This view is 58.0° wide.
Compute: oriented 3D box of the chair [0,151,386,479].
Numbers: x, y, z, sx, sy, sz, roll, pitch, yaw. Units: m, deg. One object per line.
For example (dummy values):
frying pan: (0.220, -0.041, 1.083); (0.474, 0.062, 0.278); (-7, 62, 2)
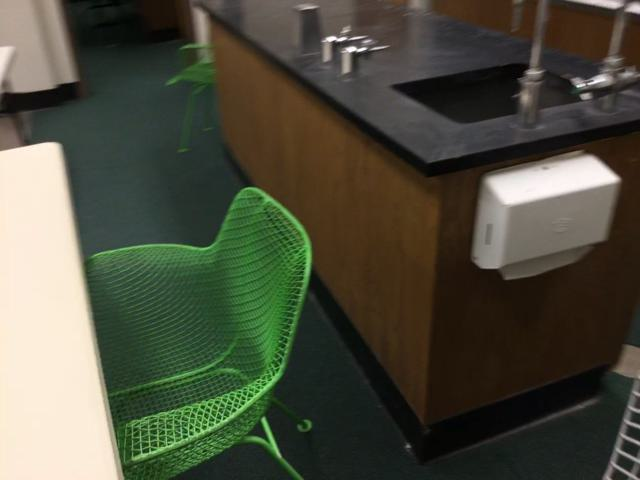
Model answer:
chair: (-0.270, 0.320, 1.260); (0.570, 0.720, 0.700); (-15, 33, -16)

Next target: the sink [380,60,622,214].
sink: (0.450, -0.290, 1.520); (0.480, 0.210, 0.340); (-15, 33, -16)

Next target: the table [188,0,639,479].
table: (0.130, -0.430, 2.360); (0.770, 0.980, 2.410); (-15, 33, -16)

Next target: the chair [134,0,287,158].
chair: (-0.620, -1.010, 3.580); (0.630, 0.770, 0.700); (2, 32, 10)
